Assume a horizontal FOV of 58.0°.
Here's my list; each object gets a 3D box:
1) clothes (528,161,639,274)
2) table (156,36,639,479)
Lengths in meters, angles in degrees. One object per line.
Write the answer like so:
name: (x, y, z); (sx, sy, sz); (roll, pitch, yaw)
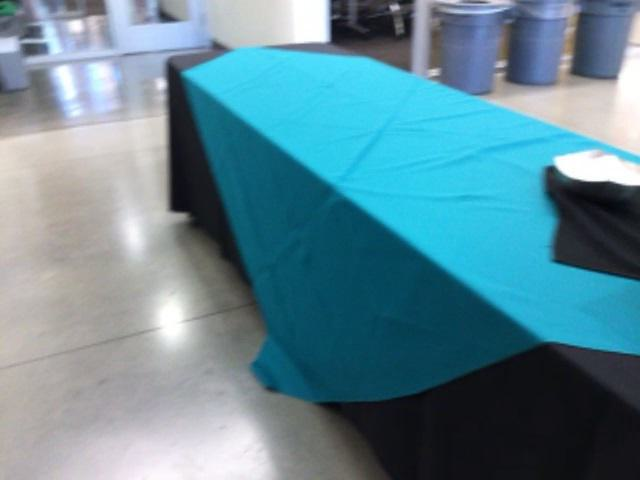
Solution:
clothes: (0.700, -0.040, 1.090); (0.580, 0.040, 0.530); (8, 23, 17)
table: (0.700, 0.460, 0.910); (0.890, 0.910, 4.630); (-9, 28, -24)
